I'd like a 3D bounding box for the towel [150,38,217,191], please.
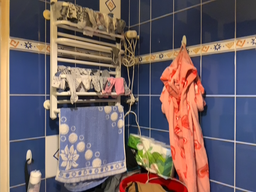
[{"bbox_3d":[0.330,0.200,1.320,0.150,1.020,0.370,0,1,-44],"label":"towel"}]
